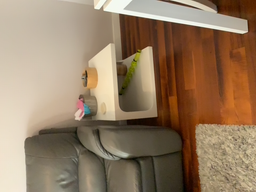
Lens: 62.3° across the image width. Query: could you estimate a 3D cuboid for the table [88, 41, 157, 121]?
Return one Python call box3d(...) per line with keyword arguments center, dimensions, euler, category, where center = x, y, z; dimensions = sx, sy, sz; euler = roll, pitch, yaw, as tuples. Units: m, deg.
box3d(center=(-0.080, -0.100, 1.930), dimensions=(0.600, 0.380, 0.600), euler=(-8, 85, 63), category="table")
